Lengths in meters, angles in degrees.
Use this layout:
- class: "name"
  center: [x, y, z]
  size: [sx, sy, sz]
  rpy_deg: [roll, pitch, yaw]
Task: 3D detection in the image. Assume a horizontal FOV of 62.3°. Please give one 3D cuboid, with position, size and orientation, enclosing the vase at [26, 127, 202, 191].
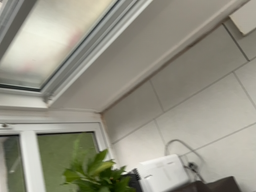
- class: "vase"
  center: [-0.050, 0.510, 1.280]
  size: [0.530, 0.830, 0.450]
  rpy_deg: [-35, 63, 33]
